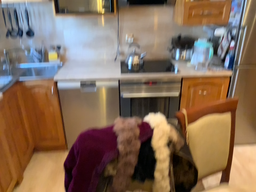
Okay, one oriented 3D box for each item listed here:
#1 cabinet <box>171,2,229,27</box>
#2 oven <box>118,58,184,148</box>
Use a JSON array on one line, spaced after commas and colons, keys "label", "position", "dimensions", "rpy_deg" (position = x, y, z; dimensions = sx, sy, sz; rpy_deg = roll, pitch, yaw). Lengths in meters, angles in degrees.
[{"label": "cabinet", "position": [0.720, -0.860, 2.210], "dimensions": [0.440, 0.220, 0.410], "rpy_deg": [-2, 25, -3]}, {"label": "oven", "position": [0.210, 0.060, 2.480], "dimensions": [0.620, 0.840, 0.610], "rpy_deg": [-2, 25, -3]}]
